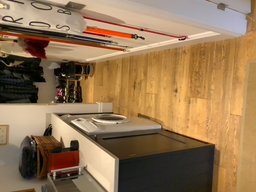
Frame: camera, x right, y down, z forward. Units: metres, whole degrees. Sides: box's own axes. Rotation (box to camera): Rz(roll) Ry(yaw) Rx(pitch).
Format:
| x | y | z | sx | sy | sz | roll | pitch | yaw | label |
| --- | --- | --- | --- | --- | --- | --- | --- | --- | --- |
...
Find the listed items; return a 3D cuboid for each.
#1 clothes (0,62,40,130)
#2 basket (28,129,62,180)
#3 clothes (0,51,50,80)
| x | y | z | sx | sy | sz | roll | pitch | yaw | label |
| --- | --- | --- | --- | --- | --- | --- | --- | --- | --- |
| -2.270 | -0.010 | 4.150 | 0.300 | 0.970 | 1.270 | 10 | 99 | 59 | clothes |
| -1.000 | 0.650 | 2.500 | 0.630 | 0.270 | 0.360 | 13 | 101 | 58 | basket |
| -1.960 | -0.500 | 3.680 | 1.170 | 0.930 | 0.380 | 9 | 98 | 59 | clothes |
